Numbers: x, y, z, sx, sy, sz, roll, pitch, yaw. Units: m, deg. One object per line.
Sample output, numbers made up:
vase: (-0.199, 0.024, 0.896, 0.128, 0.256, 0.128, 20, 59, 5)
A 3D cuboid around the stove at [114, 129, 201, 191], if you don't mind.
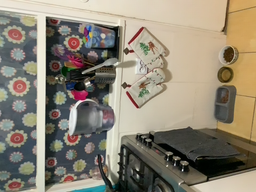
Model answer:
stove: (0.100, 0.570, 1.160, 0.590, 0.140, 0.620, -162, 73, -63)
